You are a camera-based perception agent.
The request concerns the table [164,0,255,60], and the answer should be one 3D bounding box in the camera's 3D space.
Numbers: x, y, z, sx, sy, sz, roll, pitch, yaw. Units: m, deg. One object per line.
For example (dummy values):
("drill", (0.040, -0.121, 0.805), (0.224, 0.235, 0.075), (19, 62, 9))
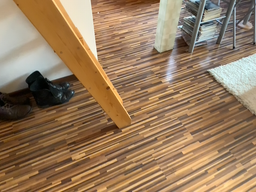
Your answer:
("table", (1.050, -0.960, 2.250), (1.170, 0.790, 0.410), (-17, 50, -17))
